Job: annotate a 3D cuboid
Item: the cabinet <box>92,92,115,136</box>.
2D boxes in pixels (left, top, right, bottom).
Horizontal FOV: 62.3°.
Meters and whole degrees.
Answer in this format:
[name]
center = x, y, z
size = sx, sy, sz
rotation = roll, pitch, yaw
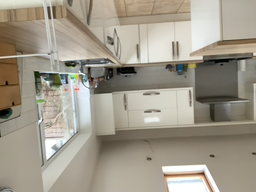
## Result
[cabinet]
center = -0.480, 0.350, 4.180
size = 0.360, 0.820, 0.280
rotation = -3, -174, 3
